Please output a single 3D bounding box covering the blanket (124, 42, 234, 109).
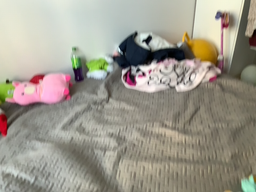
[{"bbox_3d":[0.390,-0.200,1.660,0.730,0.200,0.410,-20,36,-26],"label":"blanket"}]
